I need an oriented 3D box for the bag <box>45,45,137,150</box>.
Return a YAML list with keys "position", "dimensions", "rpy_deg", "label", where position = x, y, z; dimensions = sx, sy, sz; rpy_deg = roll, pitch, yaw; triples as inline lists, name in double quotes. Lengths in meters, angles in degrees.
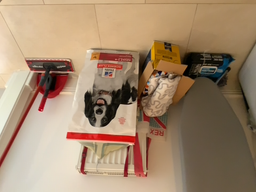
- position: [-0.180, -0.020, 1.370]
  dimensions: [0.450, 0.670, 0.230]
  rpy_deg: [0, 142, 5]
  label: "bag"
